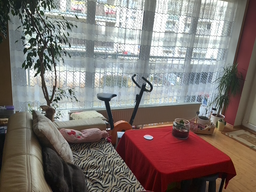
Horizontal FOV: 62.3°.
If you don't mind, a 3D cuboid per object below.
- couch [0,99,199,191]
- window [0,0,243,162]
[{"bbox_3d":[-0.410,0.630,1.630,0.960,0.750,1.490,-2,18,-24],"label":"couch"},{"bbox_3d":[0.160,-0.520,3.220,3.730,2.510,0.260,-3,18,-28],"label":"window"}]
